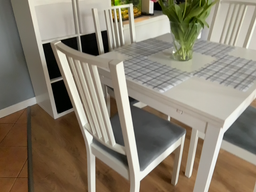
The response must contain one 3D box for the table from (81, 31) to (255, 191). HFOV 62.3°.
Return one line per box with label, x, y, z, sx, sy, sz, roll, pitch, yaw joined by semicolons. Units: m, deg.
table;0.350;0.070;1.510;0.900;0.740;0.900;26;40;37
